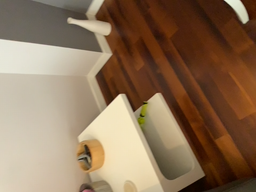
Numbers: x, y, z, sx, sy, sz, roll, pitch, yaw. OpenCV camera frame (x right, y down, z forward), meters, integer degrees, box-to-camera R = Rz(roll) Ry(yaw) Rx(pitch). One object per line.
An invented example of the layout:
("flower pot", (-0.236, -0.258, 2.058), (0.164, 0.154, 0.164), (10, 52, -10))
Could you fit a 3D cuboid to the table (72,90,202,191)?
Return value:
("table", (0.010, 0.390, 1.430), (0.610, 0.380, 0.630), (-41, 63, 39))
